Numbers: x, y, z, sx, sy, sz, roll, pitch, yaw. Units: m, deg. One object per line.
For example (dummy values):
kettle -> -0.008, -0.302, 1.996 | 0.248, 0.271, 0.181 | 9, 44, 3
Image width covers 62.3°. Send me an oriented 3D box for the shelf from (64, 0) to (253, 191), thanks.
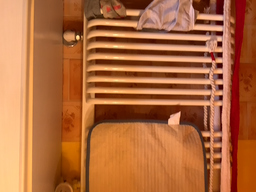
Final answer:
shelf -> 0.100, -0.020, 0.700 | 0.570, 0.850, 0.130 | 1, 179, -7
